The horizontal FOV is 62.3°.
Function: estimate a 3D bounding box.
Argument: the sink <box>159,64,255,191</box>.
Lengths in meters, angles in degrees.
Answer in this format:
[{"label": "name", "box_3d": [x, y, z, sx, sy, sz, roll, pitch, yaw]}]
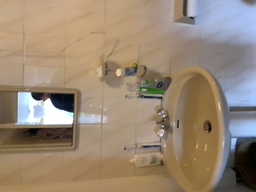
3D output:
[{"label": "sink", "box_3d": [0.360, 0.170, 1.060, 0.500, 0.180, 0.600, -170, 83, -73]}]
